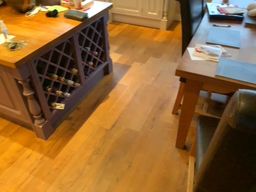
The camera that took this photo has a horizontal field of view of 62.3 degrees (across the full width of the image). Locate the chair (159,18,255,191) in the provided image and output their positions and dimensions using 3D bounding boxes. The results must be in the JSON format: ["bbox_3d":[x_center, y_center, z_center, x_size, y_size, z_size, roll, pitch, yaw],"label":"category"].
[{"bbox_3d":[0.450,0.300,1.070,0.450,1.120,0.610,14,42,16],"label":"chair"}]

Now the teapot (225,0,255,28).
[{"bbox_3d":[0.980,-0.720,1.800,0.240,0.160,0.250,16,42,17],"label":"teapot"}]

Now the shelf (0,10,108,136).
[{"bbox_3d":[-0.580,-0.280,2.050,0.240,0.720,1.090,16,43,18],"label":"shelf"}]
